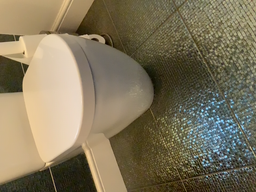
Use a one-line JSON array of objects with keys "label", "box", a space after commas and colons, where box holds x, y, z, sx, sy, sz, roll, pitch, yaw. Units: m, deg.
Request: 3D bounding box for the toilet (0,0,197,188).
[{"label": "toilet", "box": [-0.300, 0.040, 0.790, 0.640, 0.810, 0.400, -38, 69, 45]}]
